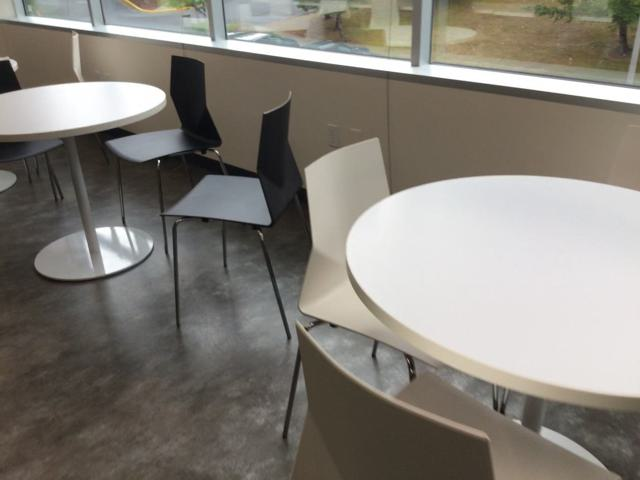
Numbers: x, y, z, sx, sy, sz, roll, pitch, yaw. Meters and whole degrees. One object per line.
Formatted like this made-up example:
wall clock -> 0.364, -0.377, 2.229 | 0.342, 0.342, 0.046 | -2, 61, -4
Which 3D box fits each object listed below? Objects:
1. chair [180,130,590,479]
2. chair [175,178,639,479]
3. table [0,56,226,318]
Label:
chair -> 0.160, 0.080, 1.420 | 0.710, 0.440, 0.620 | -25, 35, -39
chair -> 0.170, 0.430, 1.050 | 0.550, 0.870, 0.510 | -25, 35, -39
table -> -1.130, -0.340, 2.710 | 0.930, 0.800, 0.920 | -25, 35, -39
